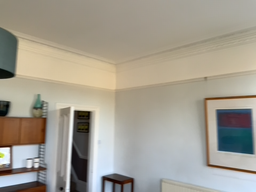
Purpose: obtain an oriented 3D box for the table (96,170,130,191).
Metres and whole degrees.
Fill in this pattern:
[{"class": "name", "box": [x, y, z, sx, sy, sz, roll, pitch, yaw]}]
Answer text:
[{"class": "table", "box": [-0.320, 1.970, 4.410, 0.640, 0.670, 0.360, -5, -9, 44]}]
